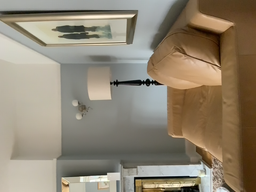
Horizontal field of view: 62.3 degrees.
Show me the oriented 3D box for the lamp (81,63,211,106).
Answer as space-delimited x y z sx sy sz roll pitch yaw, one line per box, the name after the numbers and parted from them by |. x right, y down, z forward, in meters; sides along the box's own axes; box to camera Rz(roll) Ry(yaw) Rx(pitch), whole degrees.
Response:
0.220 -0.180 2.870 0.560 1.580 0.490 -102 11 -81 | lamp

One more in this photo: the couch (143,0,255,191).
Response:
0.610 -0.040 1.740 1.570 0.820 0.990 -160 69 -88 | couch
